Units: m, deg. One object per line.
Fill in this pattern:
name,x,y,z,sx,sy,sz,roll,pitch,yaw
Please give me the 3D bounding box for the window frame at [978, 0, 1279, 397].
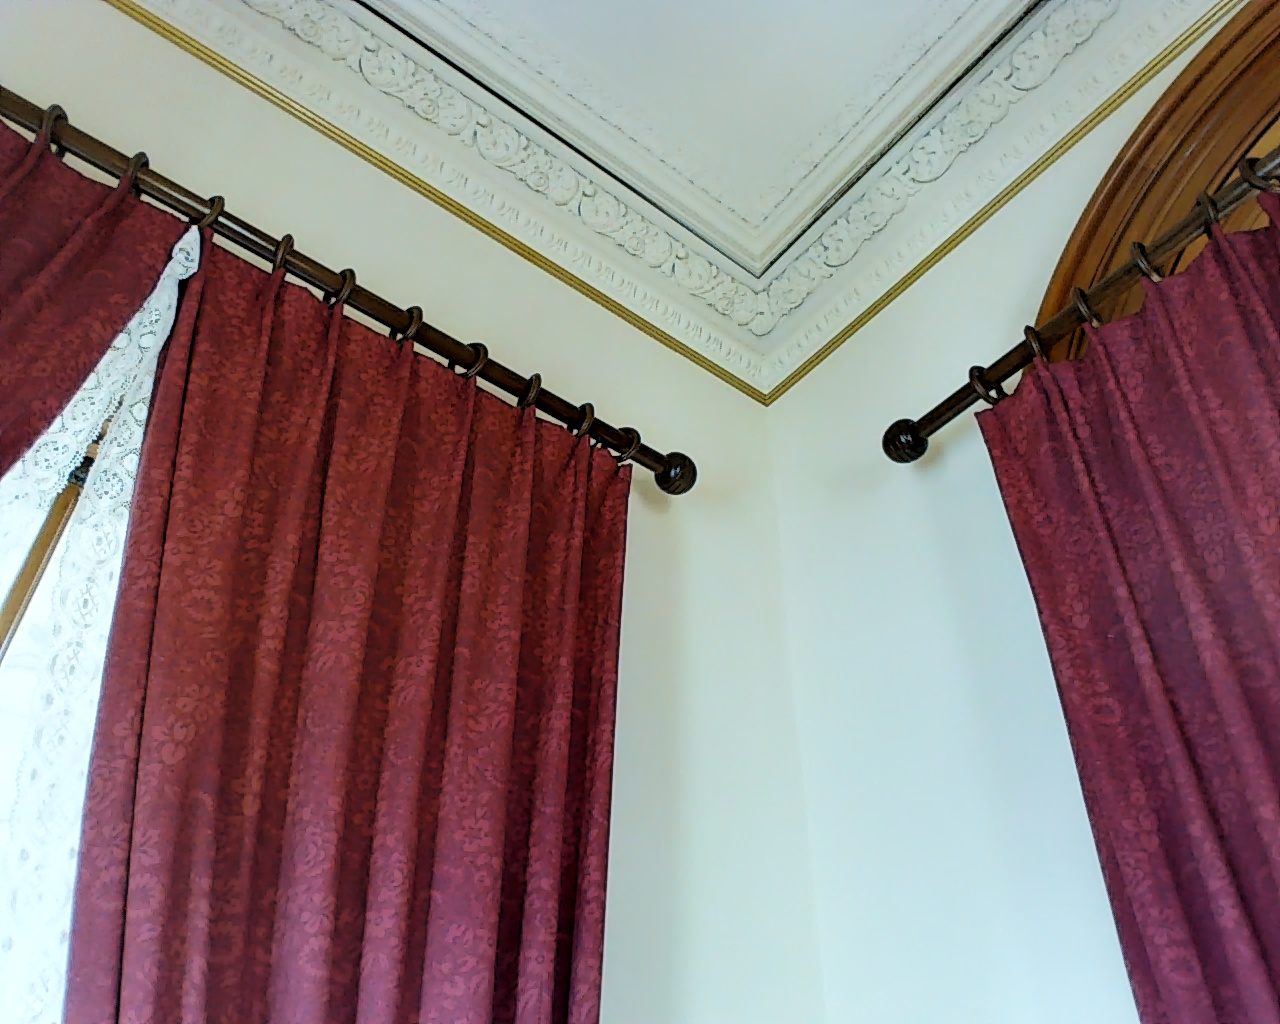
window frame,1.479,-1.000,2.170,0.160,0.580,1.770,26,-48,-26
